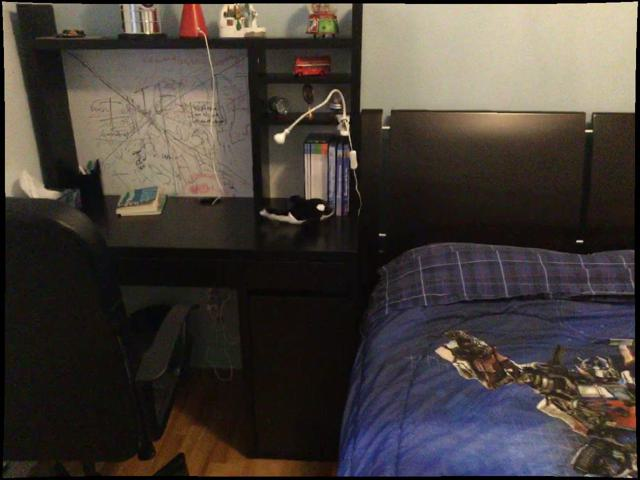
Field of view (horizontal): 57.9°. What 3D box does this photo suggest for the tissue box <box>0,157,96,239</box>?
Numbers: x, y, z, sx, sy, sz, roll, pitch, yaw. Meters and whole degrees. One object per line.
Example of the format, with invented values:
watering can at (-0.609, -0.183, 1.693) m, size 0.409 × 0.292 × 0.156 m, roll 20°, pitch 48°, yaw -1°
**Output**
tissue box at (-0.859, -0.140, 1.840) m, size 0.150 × 0.180 × 0.270 m, roll 1°, pitch 23°, yaw 4°
